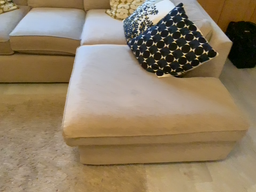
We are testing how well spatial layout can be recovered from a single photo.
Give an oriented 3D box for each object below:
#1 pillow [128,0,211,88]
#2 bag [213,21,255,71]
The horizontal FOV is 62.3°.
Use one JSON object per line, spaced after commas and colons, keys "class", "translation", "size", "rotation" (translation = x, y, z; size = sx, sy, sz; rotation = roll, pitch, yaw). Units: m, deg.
{"class": "pillow", "translation": [0.230, -0.300, 1.290], "size": [0.180, 0.370, 0.400], "rotation": [-6, 77, -41]}
{"class": "bag", "translation": [1.140, -0.510, 2.150], "size": [0.310, 0.310, 0.430], "rotation": [-1, 44, -6]}
